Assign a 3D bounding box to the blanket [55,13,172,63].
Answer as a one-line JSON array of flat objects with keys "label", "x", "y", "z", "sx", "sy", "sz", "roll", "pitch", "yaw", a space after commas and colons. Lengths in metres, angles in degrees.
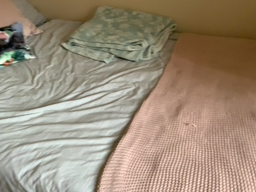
[{"label": "blanket", "x": -0.080, "y": -0.400, "z": 1.370, "sx": 0.640, "sy": 0.100, "sz": 0.380, "roll": 12, "pitch": 42, "yaw": 19}]
